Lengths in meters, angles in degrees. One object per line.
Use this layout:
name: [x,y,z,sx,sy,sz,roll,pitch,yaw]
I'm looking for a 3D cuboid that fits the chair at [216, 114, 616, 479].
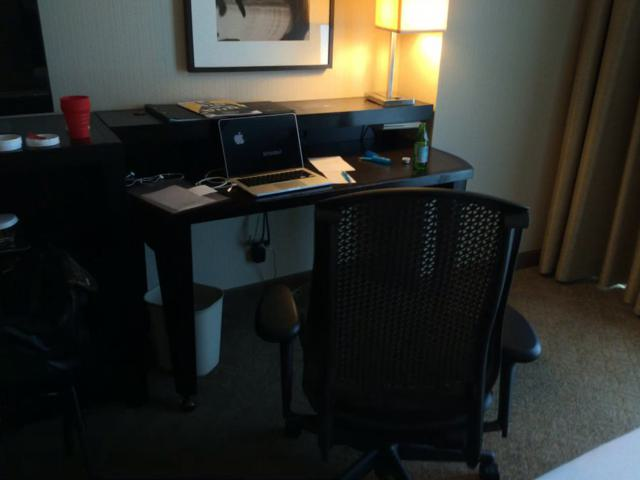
chair: [0.200,0.260,1.570,0.710,1.040,0.730,4,23,7]
